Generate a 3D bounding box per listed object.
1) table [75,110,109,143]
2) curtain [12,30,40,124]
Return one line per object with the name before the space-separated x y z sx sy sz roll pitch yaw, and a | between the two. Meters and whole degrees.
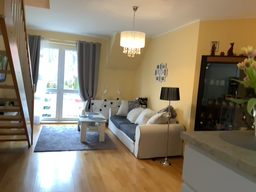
table | -0.900 0.690 5.090 0.640 0.540 1.070 2 5 -19
curtain | -2.710 -0.470 5.640 0.560 2.390 0.260 2 5 -19
